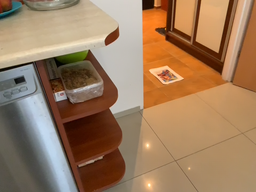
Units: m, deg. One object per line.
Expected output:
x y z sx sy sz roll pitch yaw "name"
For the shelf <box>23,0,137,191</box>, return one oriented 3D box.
-0.210 0.040 1.020 0.260 0.860 0.590 -17 38 -18 "shelf"
